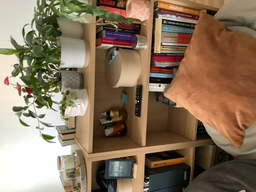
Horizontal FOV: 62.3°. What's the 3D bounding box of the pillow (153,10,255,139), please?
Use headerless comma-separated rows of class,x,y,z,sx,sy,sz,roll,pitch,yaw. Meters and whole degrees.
pillow,0.400,-0.090,1.000,0.240,0.430,0.400,22,171,42
